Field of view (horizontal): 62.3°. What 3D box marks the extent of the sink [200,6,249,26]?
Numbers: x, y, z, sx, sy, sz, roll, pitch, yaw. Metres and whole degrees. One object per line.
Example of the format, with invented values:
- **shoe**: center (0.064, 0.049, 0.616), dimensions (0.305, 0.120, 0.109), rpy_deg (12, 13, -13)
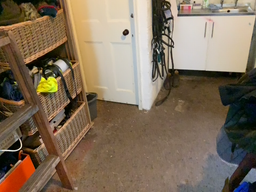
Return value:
- **sink**: center (1.270, -1.080, 2.850), dimensions (0.540, 0.150, 0.510), rpy_deg (6, 32, 19)
